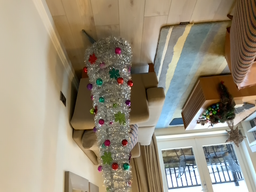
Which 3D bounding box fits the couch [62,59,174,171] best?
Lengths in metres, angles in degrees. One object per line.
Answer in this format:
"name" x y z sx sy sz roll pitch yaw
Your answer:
"couch" -0.120 0.420 2.840 0.980 0.780 1.840 -5 154 -2
